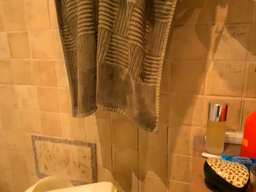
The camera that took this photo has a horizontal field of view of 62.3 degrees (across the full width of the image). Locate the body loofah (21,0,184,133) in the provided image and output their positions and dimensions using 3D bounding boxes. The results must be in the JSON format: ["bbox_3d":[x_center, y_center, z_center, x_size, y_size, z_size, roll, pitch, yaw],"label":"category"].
[{"bbox_3d":[-0.060,-0.260,0.540,0.380,0.640,0.170,4,16,19],"label":"body loofah"}]
